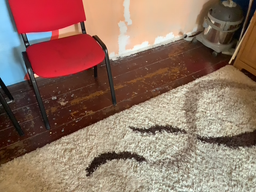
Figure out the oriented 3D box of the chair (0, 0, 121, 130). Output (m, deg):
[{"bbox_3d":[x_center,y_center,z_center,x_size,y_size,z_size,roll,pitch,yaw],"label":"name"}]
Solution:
[{"bbox_3d":[-0.460,-0.330,1.530,0.630,0.840,0.570,-20,49,-20],"label":"chair"}]
